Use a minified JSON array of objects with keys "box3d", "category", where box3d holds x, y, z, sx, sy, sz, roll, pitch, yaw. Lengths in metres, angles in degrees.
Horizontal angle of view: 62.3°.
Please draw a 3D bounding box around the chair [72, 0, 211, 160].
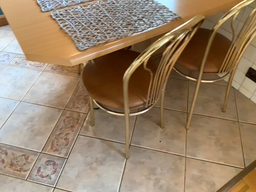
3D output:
[{"box3d":[0.030,-0.100,1.110,0.390,0.860,0.360,-26,54,-23],"category":"chair"}]
